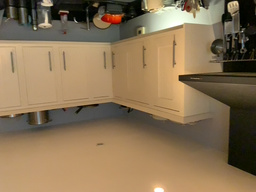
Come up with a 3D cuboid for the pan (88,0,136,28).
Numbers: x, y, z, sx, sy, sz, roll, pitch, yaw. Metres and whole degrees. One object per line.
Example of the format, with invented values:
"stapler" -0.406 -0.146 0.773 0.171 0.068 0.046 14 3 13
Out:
"pan" -0.210 -1.080 2.800 0.510 0.270 0.380 -8 -169 -34
